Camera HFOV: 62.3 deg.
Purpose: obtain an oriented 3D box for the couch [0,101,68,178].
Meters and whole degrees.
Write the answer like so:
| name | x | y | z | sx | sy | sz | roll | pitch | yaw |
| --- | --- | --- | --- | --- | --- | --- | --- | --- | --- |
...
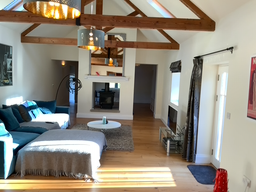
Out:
| name | x | y | z | sx | sy | sz | roll | pitch | yaw |
| --- | --- | --- | --- | --- | --- | --- | --- | --- | --- |
| couch | -2.530 | 0.680 | 4.880 | 1.320 | 0.650 | 3.610 | 3 | 6 | -1 |

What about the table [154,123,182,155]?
| name | x | y | z | sx | sy | sz | roll | pitch | yaw |
| --- | --- | --- | --- | --- | --- | --- | --- | --- | --- |
| table | 0.910 | 0.980 | 5.020 | 0.400 | 0.400 | 1.150 | 3 | 6 | -1 |

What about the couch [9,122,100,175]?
| name | x | y | z | sx | sy | sz | roll | pitch | yaw |
| --- | --- | --- | --- | --- | --- | --- | --- | --- | --- |
| couch | -1.240 | 0.910 | 4.000 | 1.260 | 0.500 | 1.340 | 3 | 6 | -1 |
